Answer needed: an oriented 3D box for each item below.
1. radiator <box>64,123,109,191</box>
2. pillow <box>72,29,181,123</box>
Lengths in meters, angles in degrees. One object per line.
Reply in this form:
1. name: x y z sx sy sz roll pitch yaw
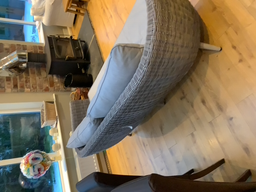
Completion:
1. radiator: -0.460 1.340 2.820 0.120 0.410 2.070 -51 50 47
2. pillow: -0.040 -0.130 1.550 0.180 0.450 0.780 56 133 14
